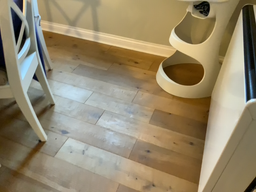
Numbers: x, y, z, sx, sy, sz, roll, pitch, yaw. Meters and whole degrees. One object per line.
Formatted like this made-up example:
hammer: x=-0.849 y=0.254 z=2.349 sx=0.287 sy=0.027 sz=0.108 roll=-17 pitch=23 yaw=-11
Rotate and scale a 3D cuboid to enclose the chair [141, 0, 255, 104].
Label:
chair: x=0.530 y=-0.500 z=1.530 sx=0.640 sy=0.840 sz=0.550 roll=-14 pitch=44 yaw=-18
